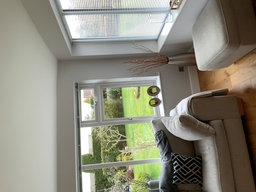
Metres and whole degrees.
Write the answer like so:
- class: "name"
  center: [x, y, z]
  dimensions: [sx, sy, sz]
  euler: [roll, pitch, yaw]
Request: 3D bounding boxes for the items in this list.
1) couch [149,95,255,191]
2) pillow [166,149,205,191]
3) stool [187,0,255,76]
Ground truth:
- class: "couch"
  center: [0.910, 1.170, 2.640]
  dimensions: [1.030, 0.910, 2.150]
  euler: [115, 152, -77]
- class: "pillow"
  center: [0.730, 0.940, 2.740]
  dimensions: [0.260, 0.350, 0.390]
  euler: [137, 122, -81]
- class: "stool"
  center: [1.050, -0.680, 2.370]
  dimensions: [0.740, 0.440, 0.680]
  euler: [110, 156, -74]
